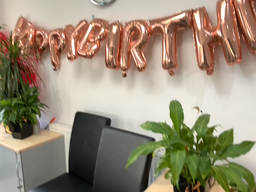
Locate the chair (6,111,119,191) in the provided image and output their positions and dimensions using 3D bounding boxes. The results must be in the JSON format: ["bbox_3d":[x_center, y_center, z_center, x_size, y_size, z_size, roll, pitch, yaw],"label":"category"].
[{"bbox_3d":[-0.460,0.680,1.670,0.500,0.960,0.620,6,12,35],"label":"chair"}]

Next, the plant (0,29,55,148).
[{"bbox_3d":[-1.060,-0.090,1.990,0.520,0.950,0.410,6,12,35],"label":"plant"}]

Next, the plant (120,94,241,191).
[{"bbox_3d":[0.260,0.270,0.960,0.350,0.470,0.500,6,12,35],"label":"plant"}]
